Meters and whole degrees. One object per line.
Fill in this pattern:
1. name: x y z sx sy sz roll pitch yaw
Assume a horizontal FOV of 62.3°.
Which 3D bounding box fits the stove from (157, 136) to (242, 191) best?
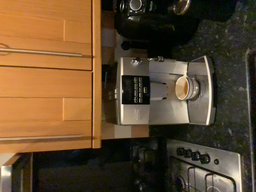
1. stove: 0.270 0.480 0.920 0.510 0.050 0.550 168 102 -70
